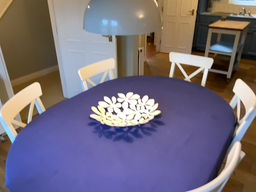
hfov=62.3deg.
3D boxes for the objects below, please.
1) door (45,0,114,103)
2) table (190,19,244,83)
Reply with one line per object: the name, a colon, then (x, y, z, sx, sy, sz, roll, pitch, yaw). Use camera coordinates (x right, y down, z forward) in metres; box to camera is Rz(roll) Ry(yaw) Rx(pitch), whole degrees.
door: (-0.590, -0.800, 2.590, 0.810, 1.890, 0.060, 8, 29, 15)
table: (1.580, -0.840, 3.780, 0.590, 0.890, 0.790, 16, 32, 28)
